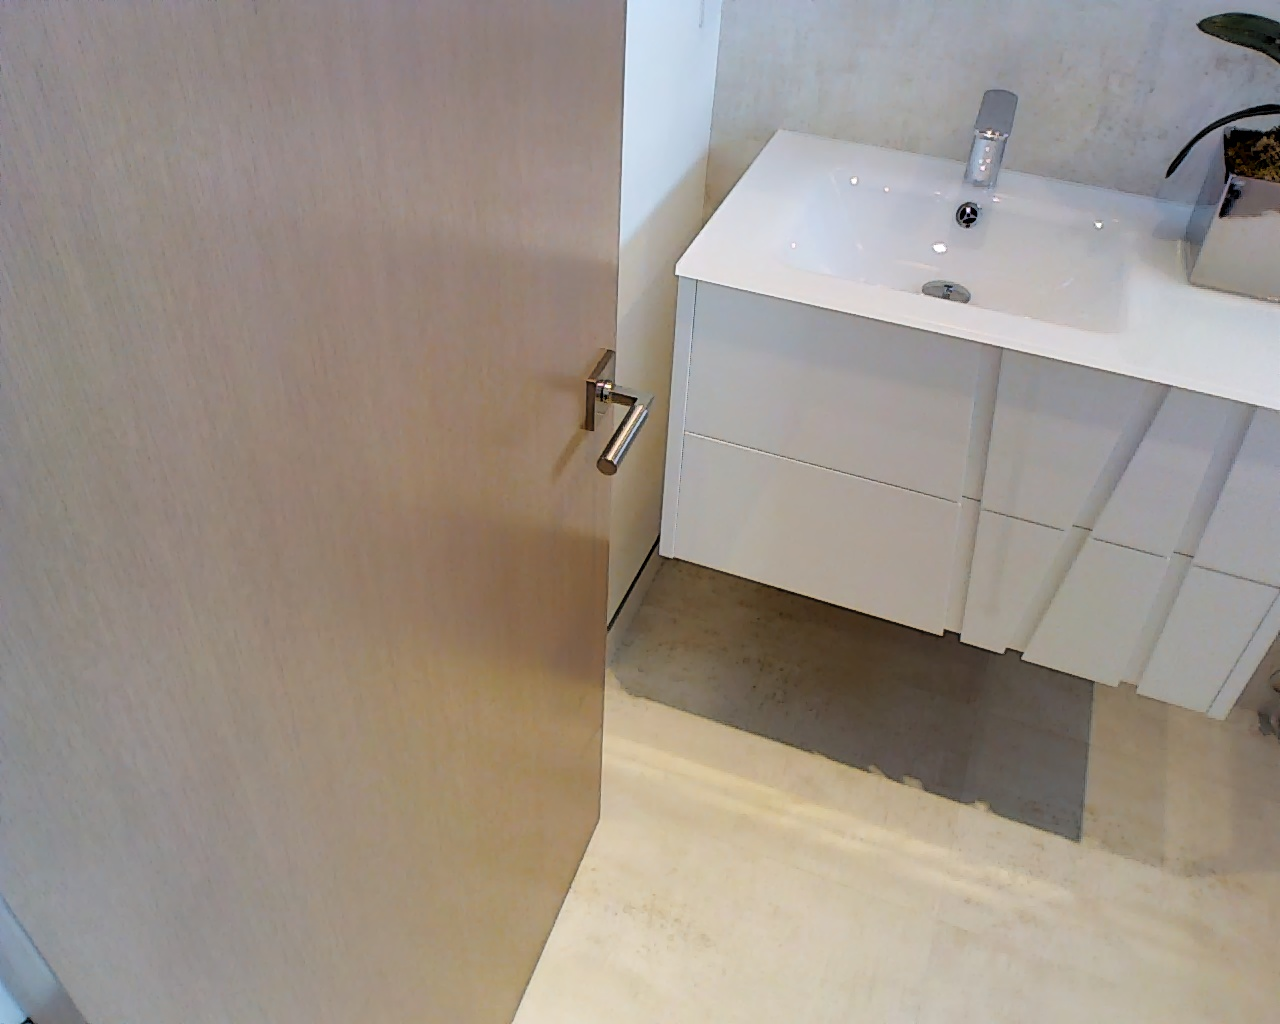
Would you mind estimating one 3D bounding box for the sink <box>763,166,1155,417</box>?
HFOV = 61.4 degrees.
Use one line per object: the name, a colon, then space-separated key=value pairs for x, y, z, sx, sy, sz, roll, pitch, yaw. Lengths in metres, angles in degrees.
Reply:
sink: x=0.430 y=-0.310 z=1.440 sx=0.450 sy=0.110 sz=0.310 roll=16 pitch=43 yaw=14
